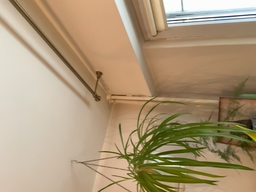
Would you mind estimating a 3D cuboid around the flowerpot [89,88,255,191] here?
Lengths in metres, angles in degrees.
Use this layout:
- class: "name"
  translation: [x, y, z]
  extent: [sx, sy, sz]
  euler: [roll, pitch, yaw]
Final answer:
- class: "flowerpot"
  translation: [0.390, 0.320, 1.020]
  extent: [0.630, 0.890, 0.480]
  euler: [51, -136, -62]
